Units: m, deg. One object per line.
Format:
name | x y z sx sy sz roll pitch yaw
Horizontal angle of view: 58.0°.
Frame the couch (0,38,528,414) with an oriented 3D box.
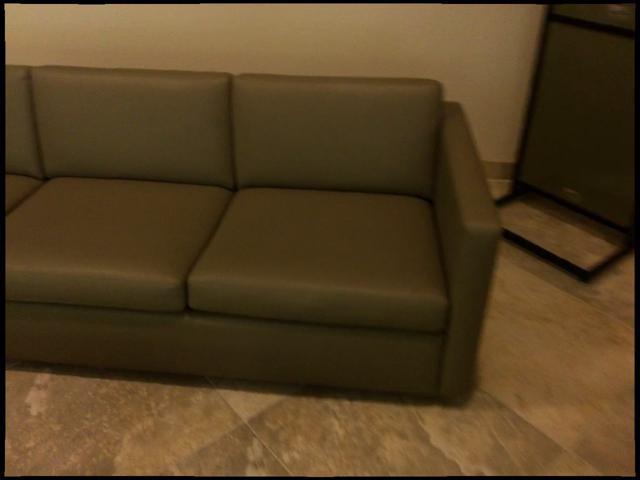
couch | -0.669 -0.130 1.880 2.265 0.721 0.981 3 35 1
